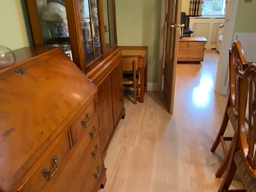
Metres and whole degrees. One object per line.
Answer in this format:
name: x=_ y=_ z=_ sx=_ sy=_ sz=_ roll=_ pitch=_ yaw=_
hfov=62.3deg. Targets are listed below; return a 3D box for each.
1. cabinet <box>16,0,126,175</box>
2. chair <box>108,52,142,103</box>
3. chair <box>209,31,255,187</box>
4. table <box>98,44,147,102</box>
cabinet: x=-0.330 y=-0.560 z=1.720 sx=0.380 sy=2.030 sz=1.090 roll=4 pitch=25 yaw=11
chair: x=-0.020 y=-0.250 z=2.820 sx=0.390 sy=0.600 sz=0.320 roll=3 pitch=24 yaw=8
chair: x=0.910 y=0.090 z=1.480 sx=0.470 sy=0.980 sz=0.470 roll=4 pitch=25 yaw=12
table: x=-0.050 y=-0.330 z=2.920 sx=0.550 sy=0.660 sz=0.470 roll=4 pitch=25 yaw=11
